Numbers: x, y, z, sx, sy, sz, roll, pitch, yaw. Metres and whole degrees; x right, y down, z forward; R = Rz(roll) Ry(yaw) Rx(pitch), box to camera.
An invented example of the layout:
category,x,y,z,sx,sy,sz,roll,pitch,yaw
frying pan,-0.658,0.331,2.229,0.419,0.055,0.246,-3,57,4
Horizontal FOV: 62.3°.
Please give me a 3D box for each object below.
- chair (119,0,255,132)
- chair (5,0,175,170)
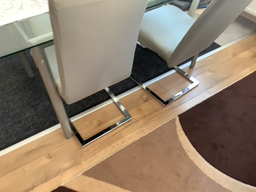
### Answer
category,x,y,z,sx,sy,sz,roll,pitch,yaw
chair,0.330,-0.380,1.330,0.450,0.900,0.720,-28,55,-24
chair,-0.210,-0.180,1.100,0.450,0.950,0.620,-28,55,-24
